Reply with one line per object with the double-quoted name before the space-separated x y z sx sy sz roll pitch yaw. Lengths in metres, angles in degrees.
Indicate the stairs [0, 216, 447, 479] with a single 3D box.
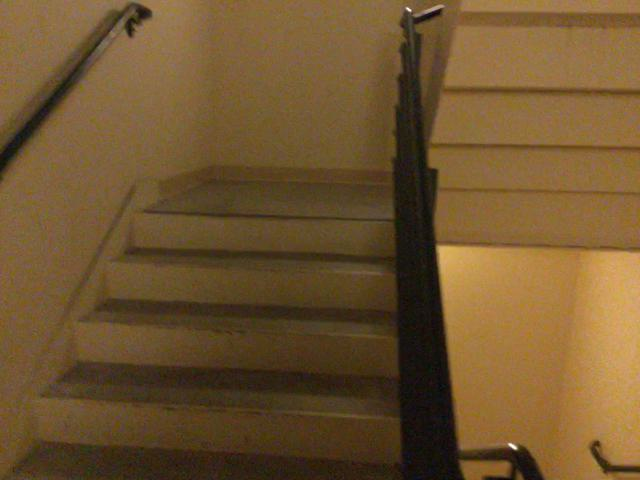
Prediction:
"stairs" -0.330 0.610 1.780 1.170 0.920 1.710 1 18 3
